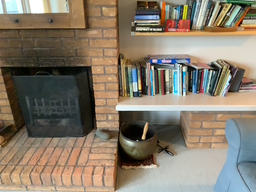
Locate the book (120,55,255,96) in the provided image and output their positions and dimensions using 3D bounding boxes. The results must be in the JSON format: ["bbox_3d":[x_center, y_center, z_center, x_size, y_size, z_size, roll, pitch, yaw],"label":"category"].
[{"bbox_3d":[0.600,-0.210,2.050,1.330,0.310,0.300,0,24,2],"label":"book"}]

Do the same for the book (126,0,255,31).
[{"bbox_3d":[0.650,-0.720,1.890,1.330,0.250,0.190,1,24,3],"label":"book"}]
